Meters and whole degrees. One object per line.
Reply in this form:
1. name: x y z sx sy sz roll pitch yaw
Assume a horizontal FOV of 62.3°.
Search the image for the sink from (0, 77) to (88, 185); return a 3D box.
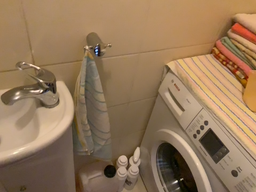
1. sink: -0.390 0.110 0.550 0.520 0.140 0.220 -11 49 -22
